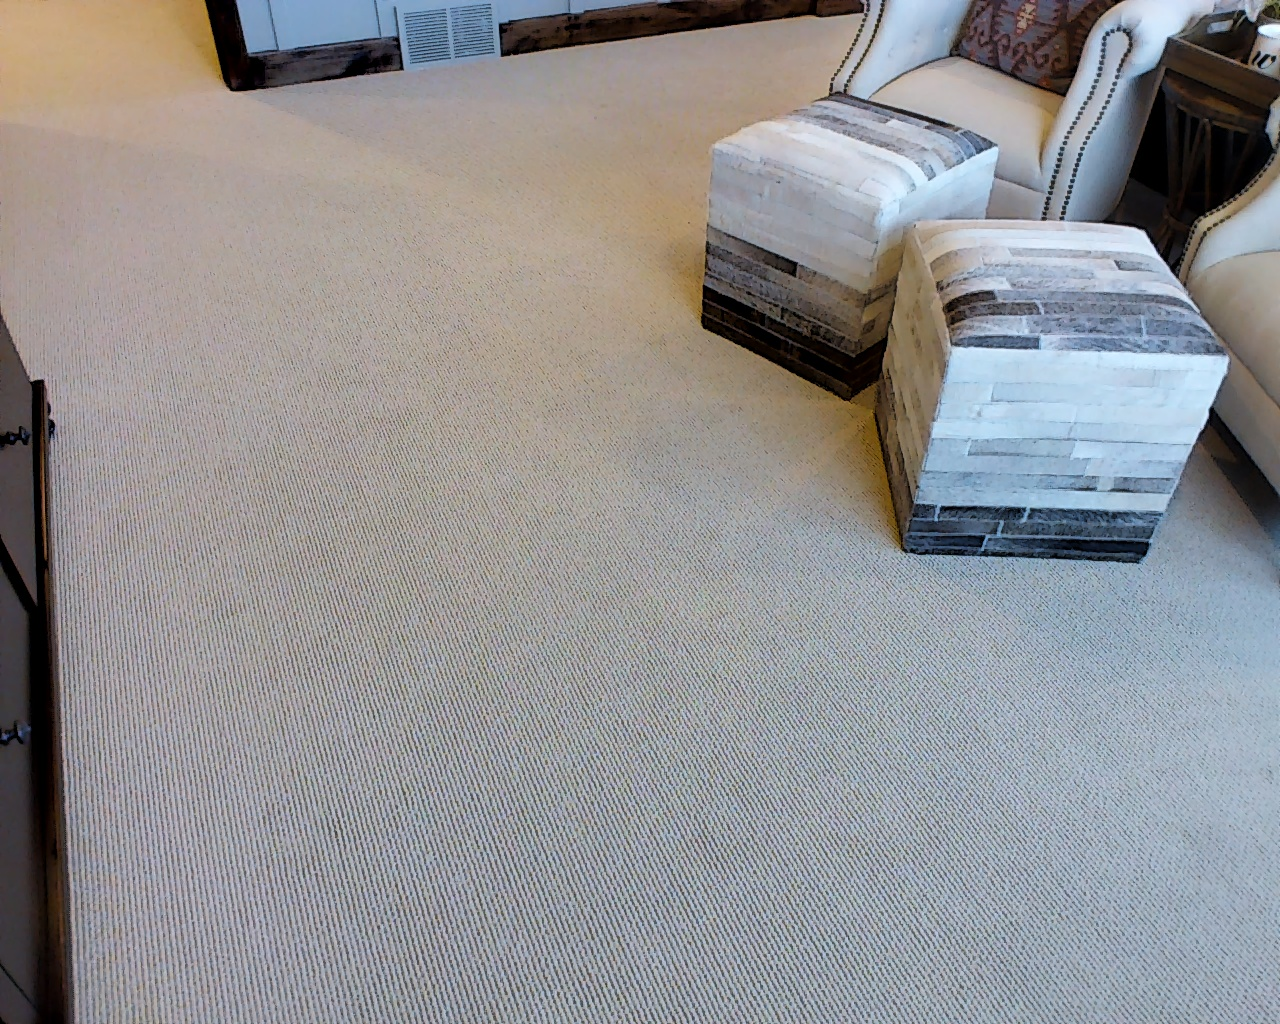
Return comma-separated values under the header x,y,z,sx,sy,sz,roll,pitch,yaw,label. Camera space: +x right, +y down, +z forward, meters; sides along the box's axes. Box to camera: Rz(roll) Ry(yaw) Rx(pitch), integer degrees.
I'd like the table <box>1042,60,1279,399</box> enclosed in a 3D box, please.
x,y,z,sx,sy,sz,roll,pitch,yaw,label
1.390,-0.680,2.540,0.560,0.560,0.430,-18,44,-20,table
